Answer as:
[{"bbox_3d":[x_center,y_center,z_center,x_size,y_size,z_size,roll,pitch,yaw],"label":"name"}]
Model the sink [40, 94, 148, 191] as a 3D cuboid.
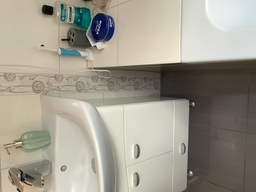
[{"bbox_3d":[-0.160,0.310,0.850,0.440,0.200,0.600,6,96,46],"label":"sink"}]
